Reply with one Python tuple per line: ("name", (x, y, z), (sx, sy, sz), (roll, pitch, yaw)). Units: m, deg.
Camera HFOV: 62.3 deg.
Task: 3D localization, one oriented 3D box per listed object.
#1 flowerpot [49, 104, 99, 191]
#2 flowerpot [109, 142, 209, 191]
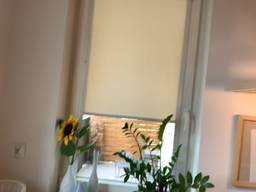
("flowerpot", (-0.350, 0.360, 1.460), (0.180, 0.580, 0.410), (6, -1, 2))
("flowerpot", (0.170, 0.530, 1.330), (0.520, 0.390, 0.290), (6, -1, -11))
